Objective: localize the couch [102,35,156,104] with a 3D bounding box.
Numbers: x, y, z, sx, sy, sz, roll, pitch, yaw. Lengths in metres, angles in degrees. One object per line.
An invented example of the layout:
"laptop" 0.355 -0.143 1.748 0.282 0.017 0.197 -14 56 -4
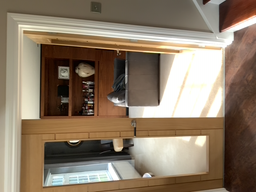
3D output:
"couch" -0.050 -0.460 4.400 1.270 0.790 1.190 180 91 -75
